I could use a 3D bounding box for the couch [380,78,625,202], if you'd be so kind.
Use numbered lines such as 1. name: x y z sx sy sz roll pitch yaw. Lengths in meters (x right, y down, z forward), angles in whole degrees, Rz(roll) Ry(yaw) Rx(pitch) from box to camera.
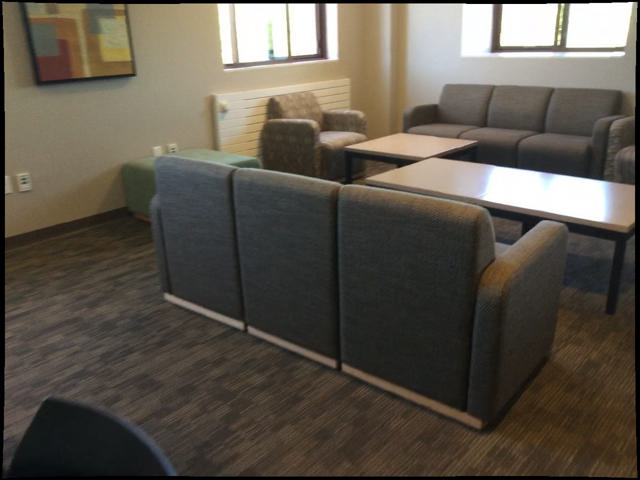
1. couch: 1.546 -0.983 5.190 1.907 0.792 0.769 16 28 39

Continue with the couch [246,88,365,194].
1. couch: -0.120 -0.952 5.360 0.749 0.772 0.769 16 28 39

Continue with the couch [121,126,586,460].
1. couch: 0.020 0.030 2.670 1.977 0.822 0.779 16 28 39
